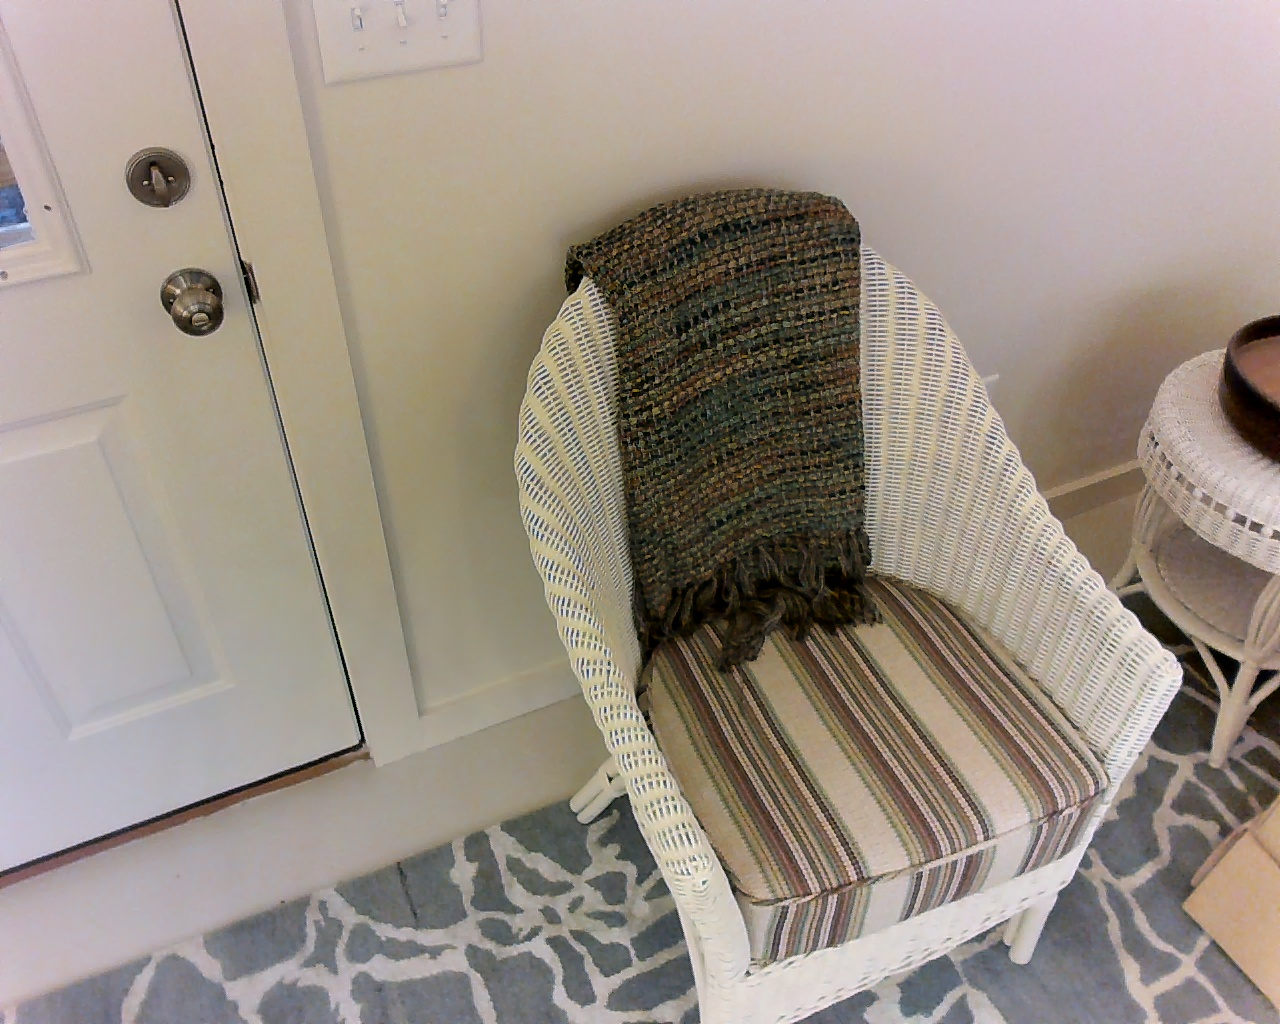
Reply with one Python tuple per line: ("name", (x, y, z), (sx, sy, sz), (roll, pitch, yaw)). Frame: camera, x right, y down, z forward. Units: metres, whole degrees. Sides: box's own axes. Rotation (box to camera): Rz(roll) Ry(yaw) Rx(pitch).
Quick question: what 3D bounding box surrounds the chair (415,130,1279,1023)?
("chair", (0.230, 0.160, 1.470), (0.750, 0.970, 0.800), (-17, 45, -19))
